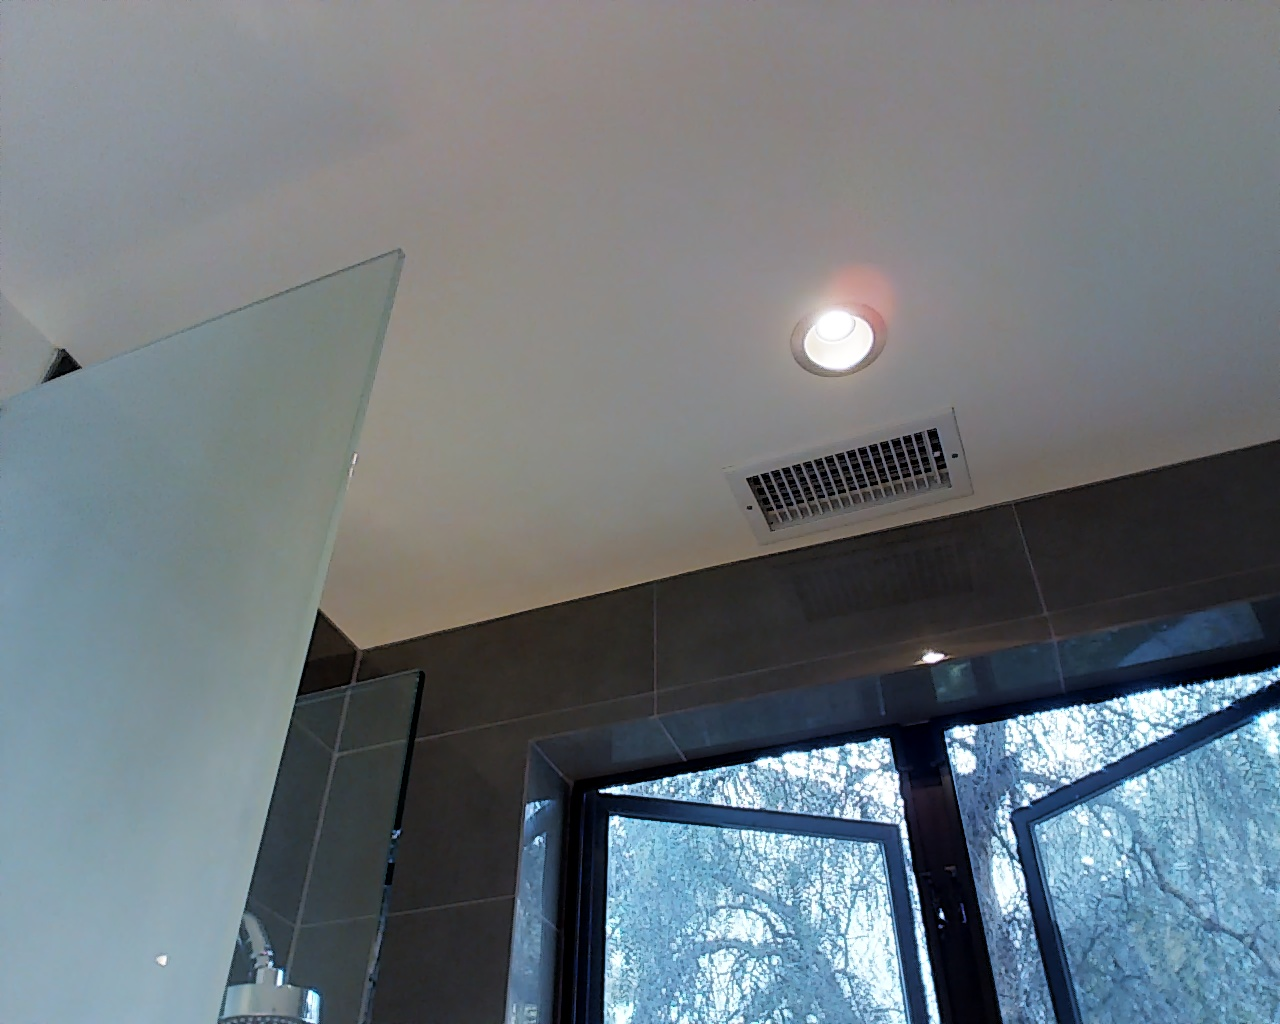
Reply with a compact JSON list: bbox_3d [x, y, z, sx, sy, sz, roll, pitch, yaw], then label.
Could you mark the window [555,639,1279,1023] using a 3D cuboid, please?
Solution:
[{"bbox_3d":[0.440,0.770,1.290,1.189,1.190,0.060,-15,-44,16],"label":"window"}]
